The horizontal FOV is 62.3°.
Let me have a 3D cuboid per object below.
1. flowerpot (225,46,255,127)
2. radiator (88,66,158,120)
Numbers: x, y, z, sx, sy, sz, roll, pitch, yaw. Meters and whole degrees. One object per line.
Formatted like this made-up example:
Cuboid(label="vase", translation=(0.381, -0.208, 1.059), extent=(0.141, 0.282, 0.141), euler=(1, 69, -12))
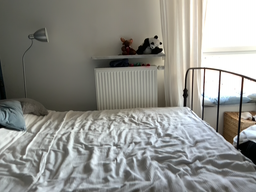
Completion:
Cuboid(label="flowerpot", translation=(1.490, -0.120, 2.410), extent=(0.610, 0.880, 0.240), euler=(-2, 13, -1))
Cuboid(label="radiator", translation=(-0.050, -0.040, 2.480), extent=(0.770, 0.570, 0.200), euler=(-2, 13, -1))
